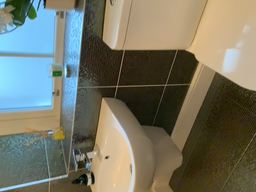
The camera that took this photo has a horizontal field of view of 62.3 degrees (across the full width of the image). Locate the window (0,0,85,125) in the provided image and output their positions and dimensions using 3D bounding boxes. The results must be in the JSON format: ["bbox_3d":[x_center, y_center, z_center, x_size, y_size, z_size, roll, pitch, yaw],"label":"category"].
[{"bbox_3d":[-0.840,-0.250,1.090,0.120,1.160,0.970,51,136,47],"label":"window"}]

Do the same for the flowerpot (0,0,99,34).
[{"bbox_3d":[-0.380,-0.530,0.930,0.370,0.420,0.350,55,138,44],"label":"flowerpot"}]

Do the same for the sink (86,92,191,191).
[{"bbox_3d":[-0.010,0.390,1.180,0.460,0.250,0.680,51,135,47],"label":"sink"}]
